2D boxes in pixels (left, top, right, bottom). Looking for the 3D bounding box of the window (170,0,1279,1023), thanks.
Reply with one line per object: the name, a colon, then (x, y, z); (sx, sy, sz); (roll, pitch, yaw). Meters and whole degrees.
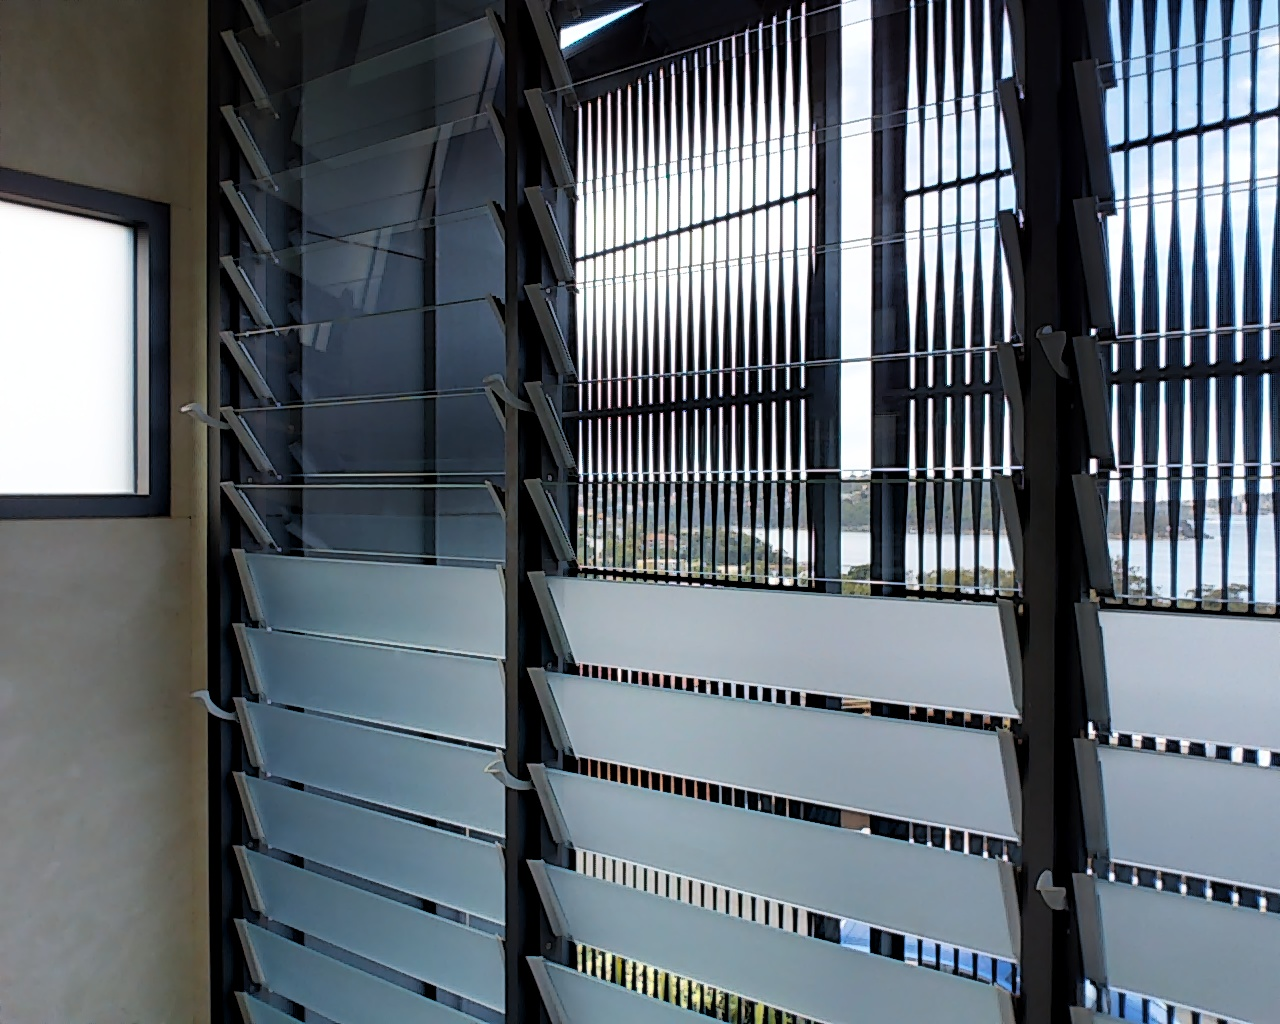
window: (0.080, 0.160, 1.360); (2.360, 2.671, 0.090); (1, 1, 37)
